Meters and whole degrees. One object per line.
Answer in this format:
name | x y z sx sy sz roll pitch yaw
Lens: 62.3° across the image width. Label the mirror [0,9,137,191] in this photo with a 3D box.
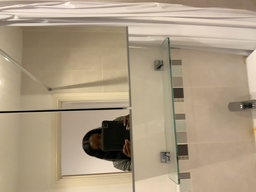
mirror | -0.330 0.020 0.910 0.020 0.710 0.820 124 144 -80
